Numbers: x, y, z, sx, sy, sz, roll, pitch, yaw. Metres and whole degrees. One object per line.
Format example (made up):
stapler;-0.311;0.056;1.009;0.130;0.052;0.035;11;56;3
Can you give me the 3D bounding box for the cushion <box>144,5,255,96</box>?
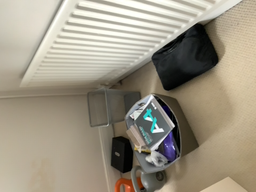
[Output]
cushion;0.360;-0.210;1.210;0.600;0.130;0.240;-29;71;49
